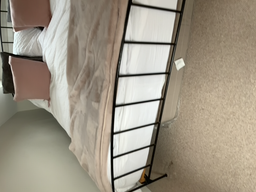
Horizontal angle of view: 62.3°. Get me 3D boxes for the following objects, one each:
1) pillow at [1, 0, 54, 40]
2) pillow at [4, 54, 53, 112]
[{"bbox_3d":[-0.940,-0.830,2.020,0.170,0.470,0.490,8,115,12],"label":"pillow"},{"bbox_3d":[-1.020,-0.150,2.240,0.180,0.430,0.470,13,116,16],"label":"pillow"}]
